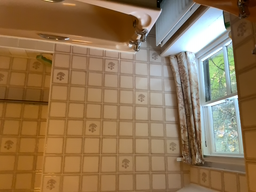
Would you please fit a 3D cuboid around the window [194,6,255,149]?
[{"bbox_3d":[0.870,-0.080,1.740,0.080,1.000,0.920,3,166,-14],"label":"window"}]
